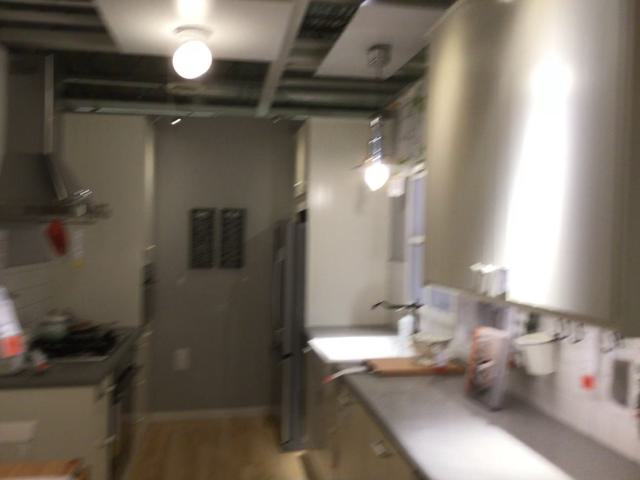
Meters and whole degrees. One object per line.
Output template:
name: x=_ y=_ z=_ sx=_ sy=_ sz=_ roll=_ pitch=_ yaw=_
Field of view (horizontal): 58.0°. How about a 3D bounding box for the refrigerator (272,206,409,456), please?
refrigerator: x=0.120 y=0.620 z=4.380 sx=0.860 sy=1.690 sz=0.750 roll=-2 pitch=0 yaw=-7
